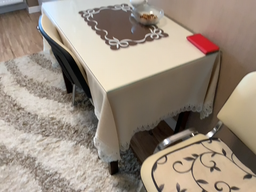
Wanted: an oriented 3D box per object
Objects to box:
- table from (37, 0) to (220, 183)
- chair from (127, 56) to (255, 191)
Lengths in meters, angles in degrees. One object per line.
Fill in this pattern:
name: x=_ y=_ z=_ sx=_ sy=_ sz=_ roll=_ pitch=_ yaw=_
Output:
table: x=-0.080 y=-0.130 z=1.400 sx=0.590 sy=0.760 sz=0.930 roll=-21 pitch=49 yaw=-22
chair: x=0.370 y=0.380 z=0.870 sx=0.560 sy=0.810 sz=0.500 roll=-21 pitch=49 yaw=-22
